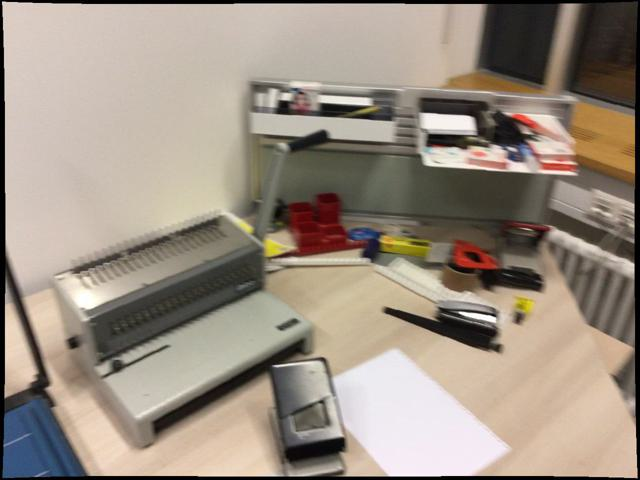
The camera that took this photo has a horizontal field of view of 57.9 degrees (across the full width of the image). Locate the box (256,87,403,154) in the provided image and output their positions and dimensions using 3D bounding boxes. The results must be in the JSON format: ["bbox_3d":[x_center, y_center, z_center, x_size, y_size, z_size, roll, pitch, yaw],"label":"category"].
[{"bbox_3d":[0.020,-0.300,1.440,0.340,0.090,0.190,1,33,-2],"label":"box"}]
